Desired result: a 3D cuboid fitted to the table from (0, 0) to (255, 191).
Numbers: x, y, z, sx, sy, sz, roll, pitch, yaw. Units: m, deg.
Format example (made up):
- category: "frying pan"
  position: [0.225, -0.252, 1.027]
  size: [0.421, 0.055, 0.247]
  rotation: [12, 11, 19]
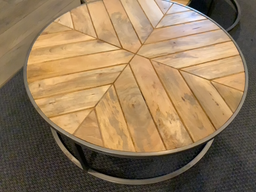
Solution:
- category: "table"
  position: [0.170, -0.490, 1.320]
  size: [1.060, 0.350, 1.910]
  rotation: [21, 56, 13]
